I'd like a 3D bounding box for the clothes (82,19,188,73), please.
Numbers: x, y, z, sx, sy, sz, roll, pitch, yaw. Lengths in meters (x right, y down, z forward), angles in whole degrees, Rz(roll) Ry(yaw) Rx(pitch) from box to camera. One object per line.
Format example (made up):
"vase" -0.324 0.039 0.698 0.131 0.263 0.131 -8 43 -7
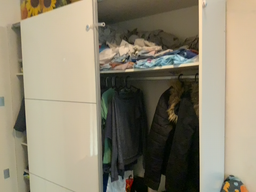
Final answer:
"clothes" 0.070 -0.330 1.630 0.620 0.290 0.540 2 6 33

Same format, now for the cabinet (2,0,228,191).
"cabinet" -0.220 0.380 1.860 1.870 2.170 0.650 2 6 34
